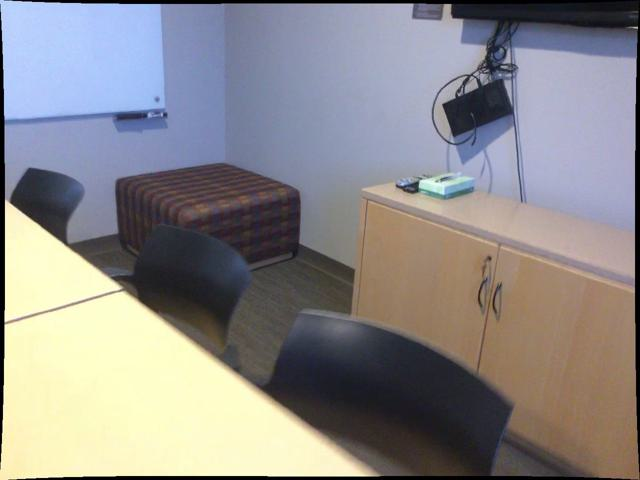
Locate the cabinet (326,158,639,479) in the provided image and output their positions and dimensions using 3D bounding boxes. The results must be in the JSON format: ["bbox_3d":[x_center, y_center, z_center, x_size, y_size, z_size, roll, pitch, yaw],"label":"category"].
[{"bbox_3d":[0.689,0.240,2.110,1.269,0.771,0.550,22,29,40],"label":"cabinet"}]
